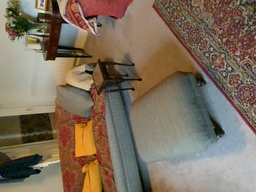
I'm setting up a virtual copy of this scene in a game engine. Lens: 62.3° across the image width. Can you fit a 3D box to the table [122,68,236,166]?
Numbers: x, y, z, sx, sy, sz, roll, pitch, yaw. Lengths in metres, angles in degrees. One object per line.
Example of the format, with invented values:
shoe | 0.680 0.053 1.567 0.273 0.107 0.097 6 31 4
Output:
table | 0.340 0.200 1.730 0.720 0.390 0.560 -40 59 53
